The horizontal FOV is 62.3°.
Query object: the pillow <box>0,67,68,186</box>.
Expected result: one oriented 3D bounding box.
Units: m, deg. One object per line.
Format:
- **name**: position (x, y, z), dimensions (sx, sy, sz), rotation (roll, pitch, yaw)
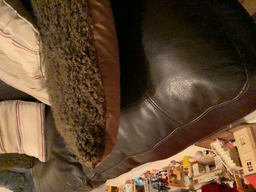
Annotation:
- **pillow**: position (-0.740, 0.110, 1.150), dimensions (0.650, 0.500, 0.160), rotation (25, -169, -4)
